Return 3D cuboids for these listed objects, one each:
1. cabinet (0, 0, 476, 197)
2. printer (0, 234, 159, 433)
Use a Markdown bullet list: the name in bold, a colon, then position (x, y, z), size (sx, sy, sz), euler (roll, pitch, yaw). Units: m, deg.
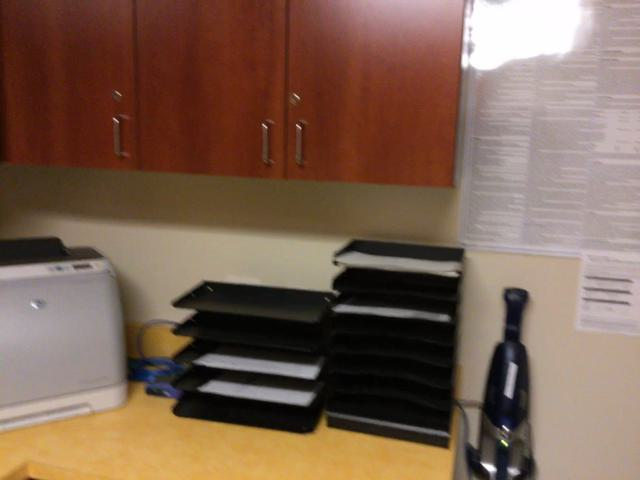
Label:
- **cabinet**: position (-0.270, -0.360, 1.360), size (1.210, 0.460, 0.090), euler (4, 9, 16)
- **printer**: position (-0.750, 0.220, 1.580), size (0.470, 0.390, 0.440), euler (-5, 10, -34)
